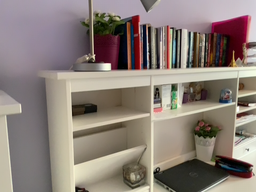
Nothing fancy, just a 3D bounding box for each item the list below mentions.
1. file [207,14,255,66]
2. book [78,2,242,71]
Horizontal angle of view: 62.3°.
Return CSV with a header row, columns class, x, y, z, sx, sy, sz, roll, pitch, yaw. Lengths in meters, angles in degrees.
class,x,y,z,sx,sy,sz,roll,pitch,yaw
file,0.710,-0.370,1.480,0.100,0.320,0.280,-7,11,-37
book,0.250,-0.280,1.180,1.000,0.250,0.260,-7,11,-36
